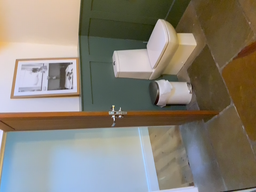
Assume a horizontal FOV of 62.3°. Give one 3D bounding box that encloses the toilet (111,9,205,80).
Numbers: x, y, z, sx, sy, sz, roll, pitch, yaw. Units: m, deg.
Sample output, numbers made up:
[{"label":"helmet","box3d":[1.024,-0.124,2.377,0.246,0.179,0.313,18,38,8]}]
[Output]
[{"label":"toilet","box3d":[0.290,-0.540,2.430,0.660,0.820,0.390,118,148,-56]}]
